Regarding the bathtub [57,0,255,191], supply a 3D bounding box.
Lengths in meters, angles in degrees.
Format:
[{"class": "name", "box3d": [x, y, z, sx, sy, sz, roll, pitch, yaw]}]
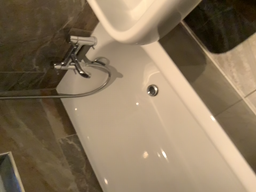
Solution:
[{"class": "bathtub", "box3d": [0.370, 0.450, 1.000, 0.670, 0.540, 1.760, -44, 67, 34]}]
